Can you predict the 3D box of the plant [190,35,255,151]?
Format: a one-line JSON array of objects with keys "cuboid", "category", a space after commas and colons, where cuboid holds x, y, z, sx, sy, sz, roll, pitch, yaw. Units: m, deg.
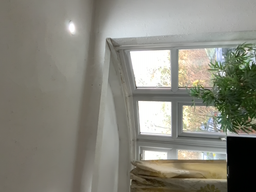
[{"cuboid": [1.270, -0.030, 1.370, 0.500, 1.640, 0.640, -65, -28, -59], "category": "plant"}]
